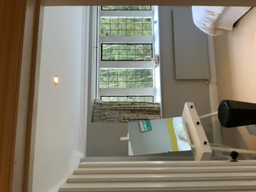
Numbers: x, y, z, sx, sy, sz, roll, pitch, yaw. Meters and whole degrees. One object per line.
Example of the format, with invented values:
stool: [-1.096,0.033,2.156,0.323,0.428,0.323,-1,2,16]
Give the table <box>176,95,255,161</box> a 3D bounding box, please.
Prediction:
table: [1.170,0.410,2.970,0.920,0.770,0.330,-93,3,-51]
